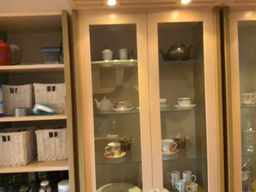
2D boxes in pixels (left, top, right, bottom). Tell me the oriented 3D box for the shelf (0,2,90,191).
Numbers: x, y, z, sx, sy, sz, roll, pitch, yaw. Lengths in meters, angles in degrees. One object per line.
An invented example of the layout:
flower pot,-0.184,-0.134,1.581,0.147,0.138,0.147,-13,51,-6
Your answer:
shelf,-0.630,0.520,1.430,0.660,2.100,0.400,-2,2,-3
